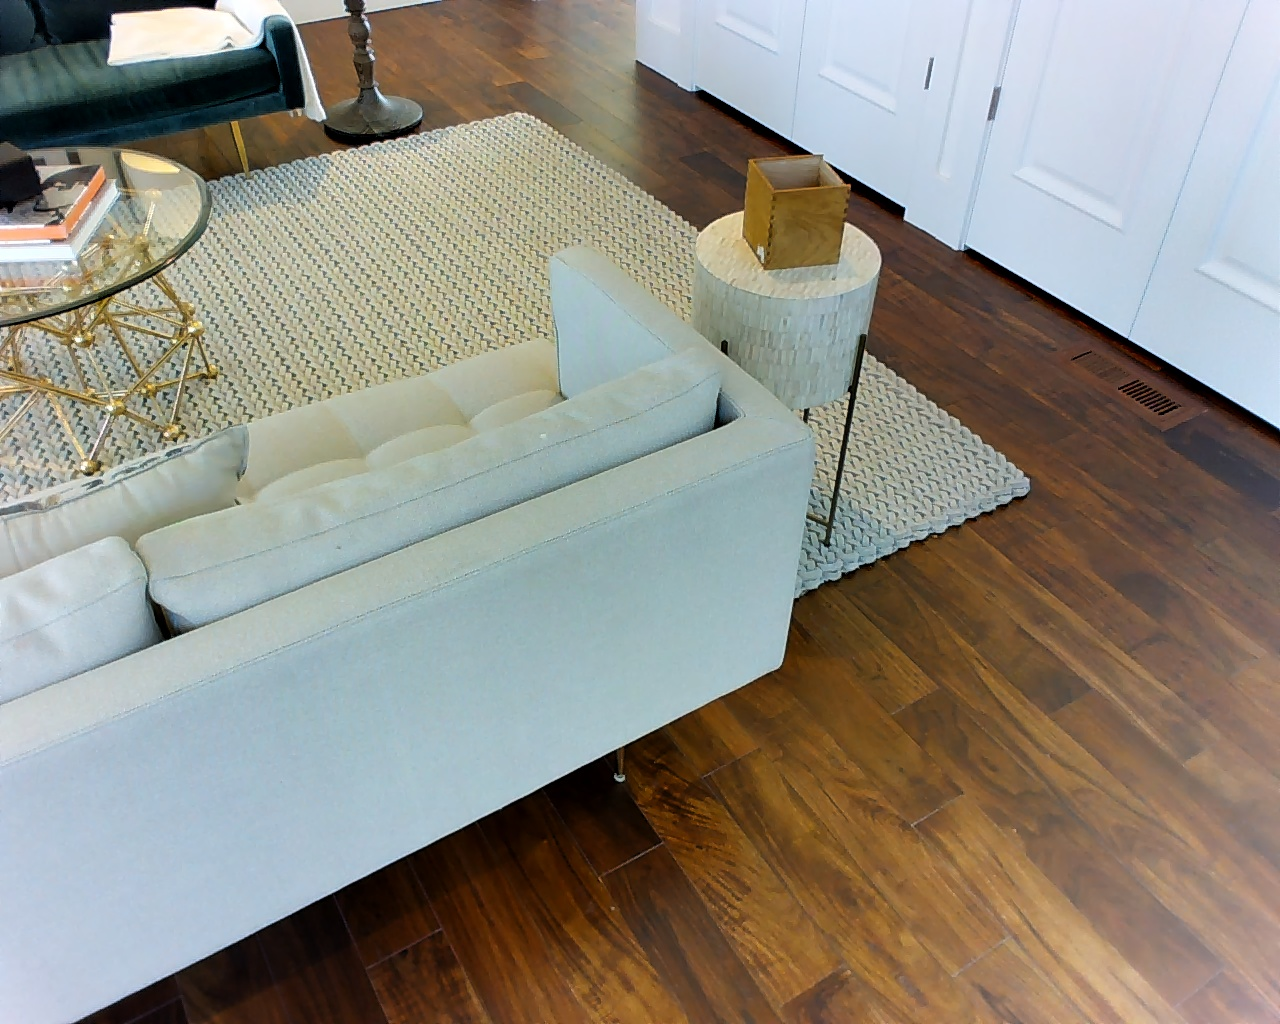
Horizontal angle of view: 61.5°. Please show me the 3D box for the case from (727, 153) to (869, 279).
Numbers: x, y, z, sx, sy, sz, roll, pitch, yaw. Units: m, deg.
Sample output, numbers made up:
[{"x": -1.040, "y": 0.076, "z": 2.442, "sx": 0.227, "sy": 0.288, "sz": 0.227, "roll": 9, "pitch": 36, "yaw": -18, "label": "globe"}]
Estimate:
[{"x": 0.270, "y": -0.520, "z": 1.880, "sx": 0.190, "sy": 0.140, "sz": 0.170, "roll": -7, "pitch": 42, "yaw": -9, "label": "case"}]

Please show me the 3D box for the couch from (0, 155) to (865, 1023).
[{"x": -0.680, "y": 0.120, "z": 1.460, "sx": 1.700, "sy": 0.570, "sz": 0.880, "roll": -21, "pitch": 46, "yaw": -24, "label": "couch"}]
